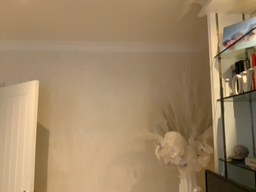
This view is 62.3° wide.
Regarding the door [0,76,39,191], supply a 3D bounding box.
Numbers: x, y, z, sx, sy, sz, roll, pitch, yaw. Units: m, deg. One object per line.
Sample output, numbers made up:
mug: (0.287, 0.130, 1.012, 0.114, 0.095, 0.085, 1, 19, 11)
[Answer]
door: (-1.130, 0.830, 1.960, 0.800, 1.950, 0.050, -5, -9, 33)
